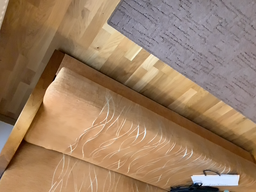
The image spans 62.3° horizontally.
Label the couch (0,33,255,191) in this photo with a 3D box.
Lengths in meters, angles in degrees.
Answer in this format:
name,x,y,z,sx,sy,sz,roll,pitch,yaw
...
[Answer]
name,x,y,z,sx,sy,sz,roll,pitch,yaw
couch,0.130,0.690,1.610,2.030,0.970,1.040,27,129,-23
